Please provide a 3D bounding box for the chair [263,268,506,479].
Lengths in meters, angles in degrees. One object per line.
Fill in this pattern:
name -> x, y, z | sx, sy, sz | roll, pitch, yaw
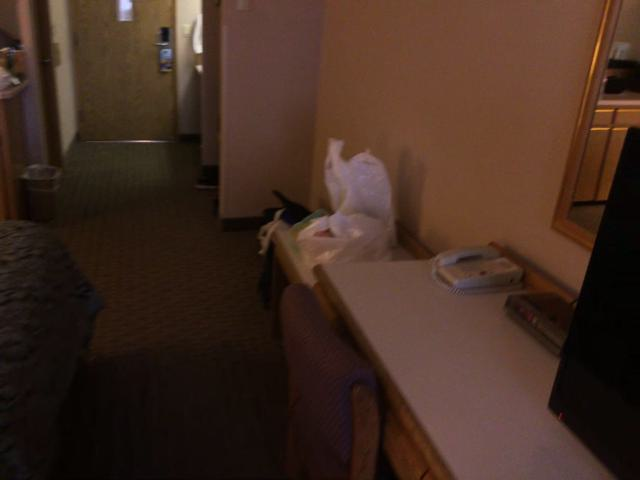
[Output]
chair -> 0.100, 0.540, 1.480 | 0.390, 0.790, 0.480 | -2, 22, -16
